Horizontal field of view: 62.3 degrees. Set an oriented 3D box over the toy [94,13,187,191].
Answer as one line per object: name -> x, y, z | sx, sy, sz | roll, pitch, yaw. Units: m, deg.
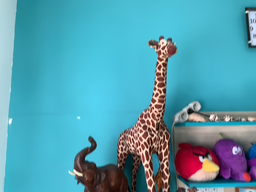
toy -> 0.030, 0.110, 0.870 | 0.270, 0.710, 0.450 | -1, -9, -1
